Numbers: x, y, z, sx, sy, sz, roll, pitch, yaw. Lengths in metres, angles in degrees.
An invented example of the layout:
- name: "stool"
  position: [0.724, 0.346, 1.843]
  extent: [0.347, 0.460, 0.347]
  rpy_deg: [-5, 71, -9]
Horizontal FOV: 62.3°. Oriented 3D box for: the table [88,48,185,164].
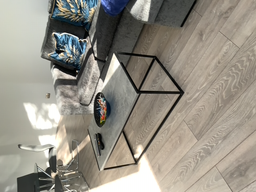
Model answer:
- name: "table"
  position: [0.000, 0.120, 1.960]
  extent: [0.530, 0.430, 0.910]
  rpy_deg: [62, 140, 39]
